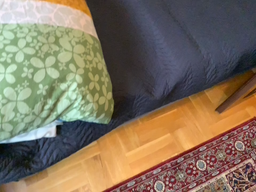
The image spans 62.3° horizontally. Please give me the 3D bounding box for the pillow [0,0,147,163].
[{"bbox_3d":[-0.380,-0.190,0.680,0.610,0.300,0.680,-19,69,-13],"label":"pillow"}]
